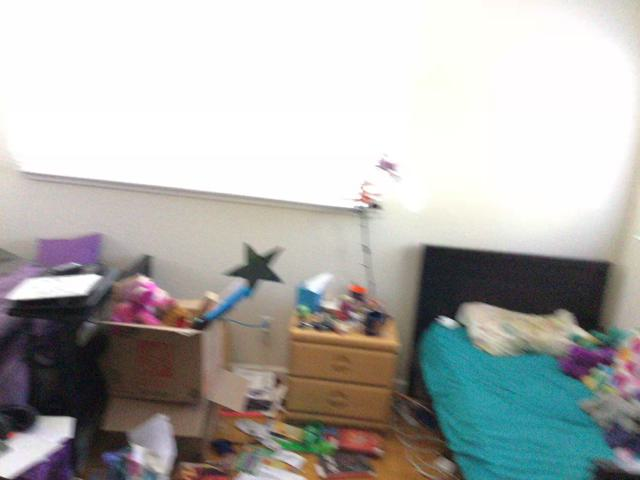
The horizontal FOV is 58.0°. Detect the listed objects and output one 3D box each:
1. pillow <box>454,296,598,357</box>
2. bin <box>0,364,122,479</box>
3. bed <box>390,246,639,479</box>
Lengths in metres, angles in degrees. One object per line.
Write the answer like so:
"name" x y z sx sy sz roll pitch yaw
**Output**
"pillow" 1.050 0.440 3.000 0.600 0.160 0.340 5 12 -4
"bin" -1.090 0.810 2.070 0.450 0.450 0.590 9 12 15
"bed" 1.060 0.620 2.290 1.170 0.680 1.940 5 12 -4
